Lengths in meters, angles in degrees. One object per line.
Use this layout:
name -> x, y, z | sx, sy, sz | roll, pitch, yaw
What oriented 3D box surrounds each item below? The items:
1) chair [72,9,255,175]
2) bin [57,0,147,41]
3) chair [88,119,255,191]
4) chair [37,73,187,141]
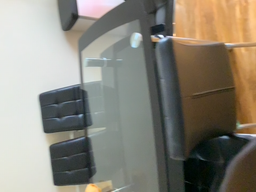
chair -> 0.320, -0.030, 1.020 | 0.600, 0.960, 0.390 | -4, 91, 55
bin -> -0.220, -0.770, 1.910 | 0.290, 0.720, 0.410 | -13, 83, 54
chair -> 0.410, 0.380, 0.940 | 0.610, 0.960, 0.400 | -4, 91, 55
chair -> -0.120, 0.070, 1.660 | 0.620, 0.950, 0.360 | -13, 83, 54
